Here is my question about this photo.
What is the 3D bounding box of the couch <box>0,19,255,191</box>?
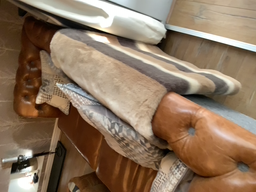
[{"bbox_3d":[-0.180,0.170,1.450,1.840,0.780,0.900,31,112,41],"label":"couch"}]
